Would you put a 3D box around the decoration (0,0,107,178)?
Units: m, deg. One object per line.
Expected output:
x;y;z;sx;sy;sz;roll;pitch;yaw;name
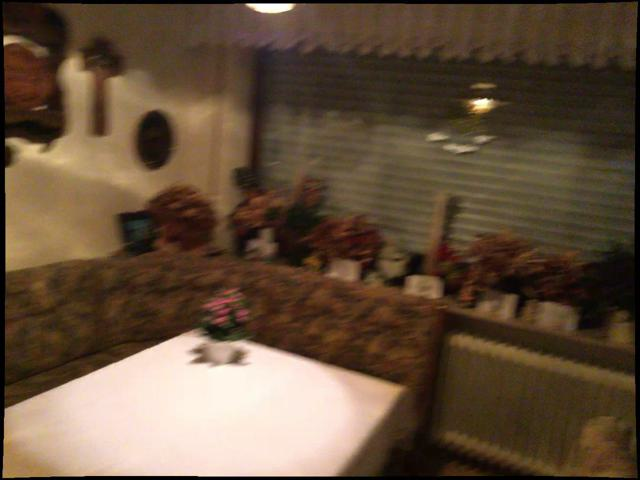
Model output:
-1.219;-0.621;1.880;0.190;0.821;1.120;14;13;25;decoration

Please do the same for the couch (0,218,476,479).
-0.539;0.611;2.170;1.549;0.901;2.430;13;13;26;couch
